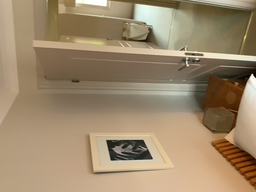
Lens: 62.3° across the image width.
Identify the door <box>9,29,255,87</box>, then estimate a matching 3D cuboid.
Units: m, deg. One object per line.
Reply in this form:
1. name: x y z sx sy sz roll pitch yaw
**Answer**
1. door: 0.270 -0.240 1.920 0.990 2.180 0.110 154 116 -73
